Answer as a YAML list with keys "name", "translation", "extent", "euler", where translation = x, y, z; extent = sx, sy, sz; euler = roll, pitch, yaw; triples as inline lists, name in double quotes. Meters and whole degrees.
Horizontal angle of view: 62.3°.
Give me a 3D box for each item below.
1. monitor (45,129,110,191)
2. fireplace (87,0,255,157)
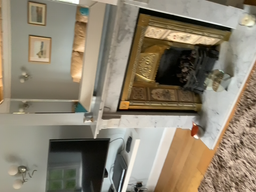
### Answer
- name: "monitor"
  translation: [-0.530, 0.800, 2.150]
  extent: [0.110, 0.560, 0.970]
  euler: [-135, 51, -61]
- name: "fireplace"
  translation: [0.340, -0.230, 1.870]
  extent: [0.690, 1.120, 1.280]
  euler: [-125, 43, -56]
